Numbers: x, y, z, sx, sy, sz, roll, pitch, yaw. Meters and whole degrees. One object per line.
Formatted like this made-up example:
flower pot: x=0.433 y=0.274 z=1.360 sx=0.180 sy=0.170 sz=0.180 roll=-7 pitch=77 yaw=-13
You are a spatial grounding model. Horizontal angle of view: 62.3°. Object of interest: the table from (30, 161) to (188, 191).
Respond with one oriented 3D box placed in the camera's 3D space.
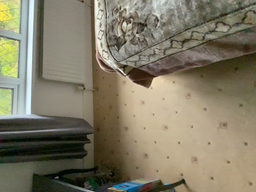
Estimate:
table: x=-0.230 y=0.960 z=1.820 sx=1.280 sy=0.730 sz=0.600 roll=-13 pitch=77 yaw=45
